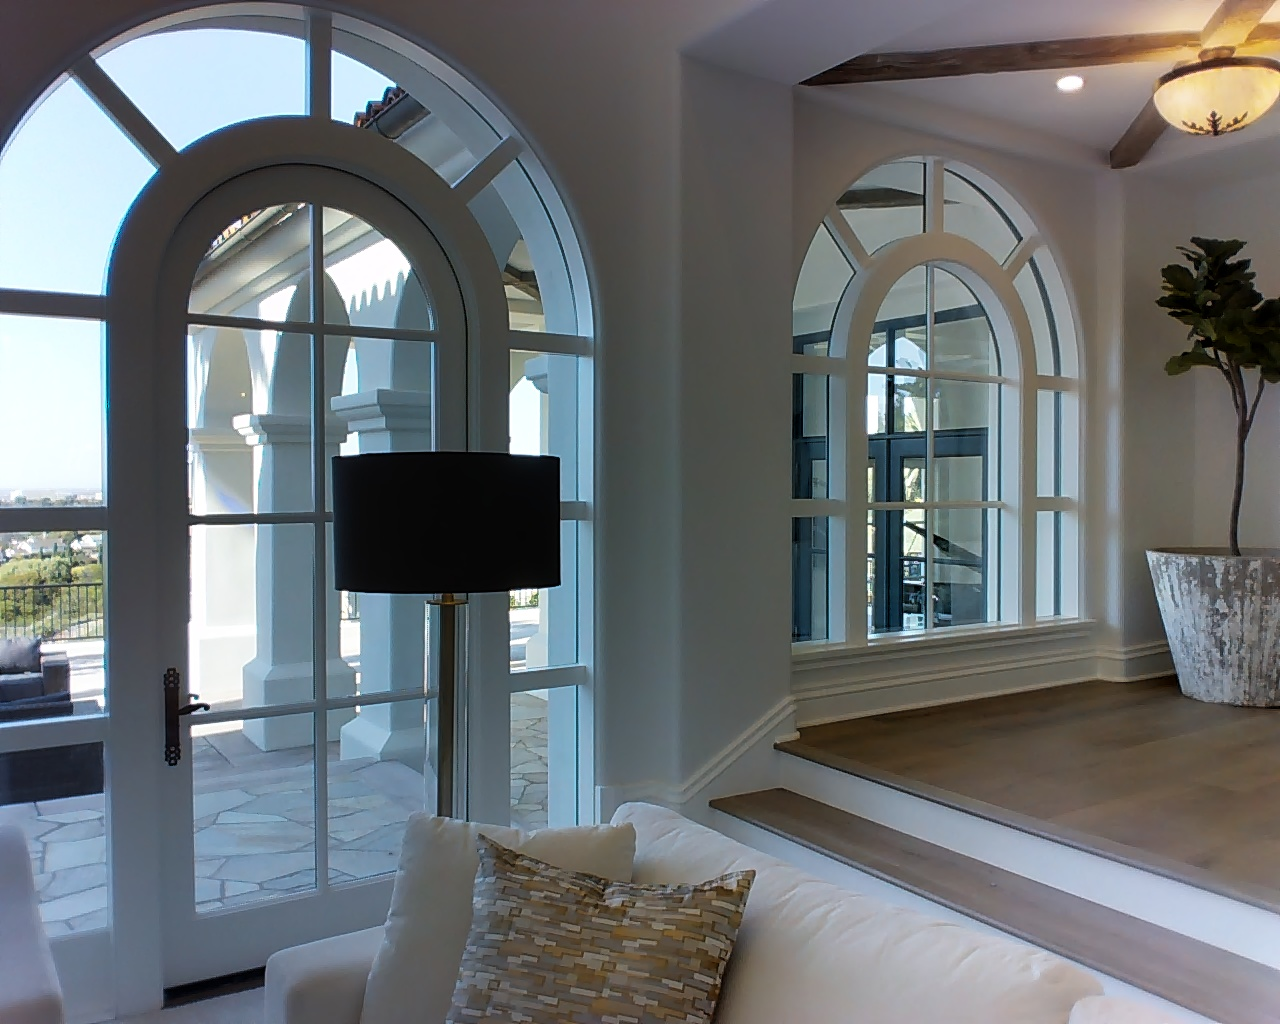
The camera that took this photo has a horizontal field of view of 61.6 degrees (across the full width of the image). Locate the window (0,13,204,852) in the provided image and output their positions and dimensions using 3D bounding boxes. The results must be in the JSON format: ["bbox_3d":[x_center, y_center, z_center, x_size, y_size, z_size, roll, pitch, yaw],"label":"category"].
[{"bbox_3d":[-2.269,-0.220,2.830,2.080,2.371,0.160,0,1,-33],"label":"window"}]
